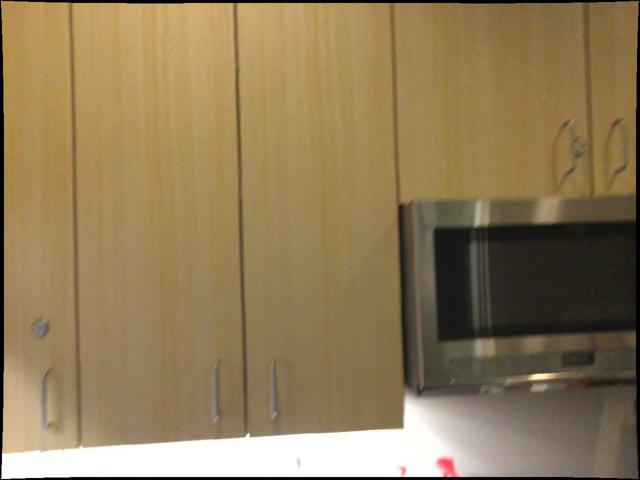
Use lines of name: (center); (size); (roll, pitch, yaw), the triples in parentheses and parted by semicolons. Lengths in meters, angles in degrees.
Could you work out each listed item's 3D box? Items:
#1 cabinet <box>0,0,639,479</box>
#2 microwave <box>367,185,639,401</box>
cabinet: (0.439, -0.200, 1.200); (2.783, 1.062, 0.280); (-5, 1, -4)
microwave: (0.439, 0.080, 1.220); (0.599, 0.341, 0.400); (-5, 1, -4)
